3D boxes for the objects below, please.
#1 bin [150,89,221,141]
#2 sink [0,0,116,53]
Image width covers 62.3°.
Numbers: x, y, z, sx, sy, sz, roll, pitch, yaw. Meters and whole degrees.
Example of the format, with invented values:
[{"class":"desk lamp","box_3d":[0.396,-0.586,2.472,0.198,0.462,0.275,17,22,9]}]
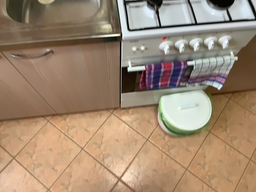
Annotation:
[{"class":"bin","box_3d":[0.330,0.130,1.320,0.310,0.310,0.210,-5,68,-5]},{"class":"sink","box_3d":[-0.260,-0.410,0.830,0.380,0.180,0.410,-6,68,-5]}]
